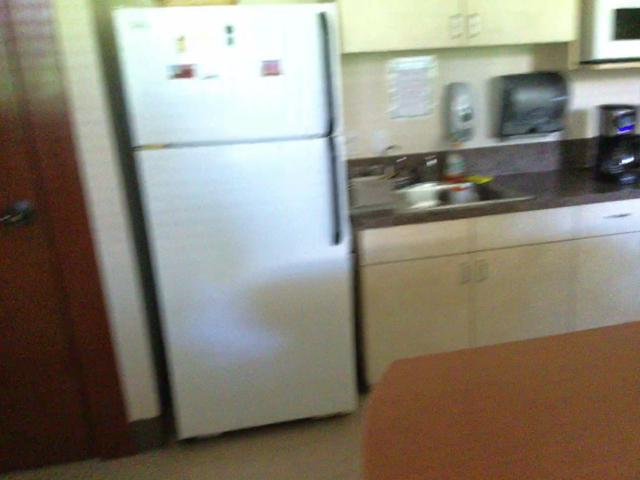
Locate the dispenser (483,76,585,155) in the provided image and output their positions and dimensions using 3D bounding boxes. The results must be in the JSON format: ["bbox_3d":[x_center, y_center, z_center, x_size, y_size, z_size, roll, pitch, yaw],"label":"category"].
[{"bbox_3d":[1.010,-0.600,2.760,0.380,0.320,0.250,-6,16,-6],"label":"dispenser"}]

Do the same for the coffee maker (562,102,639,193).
[{"bbox_3d":[1.360,-0.450,2.690,0.200,0.340,0.560,-5,16,-1],"label":"coffee maker"}]
